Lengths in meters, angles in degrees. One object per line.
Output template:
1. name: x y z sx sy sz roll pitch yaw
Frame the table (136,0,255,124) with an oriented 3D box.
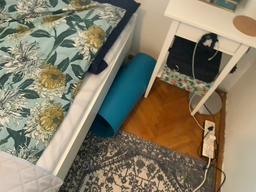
1. table: 0.390 -0.230 1.320 0.460 0.700 0.380 22 55 4
